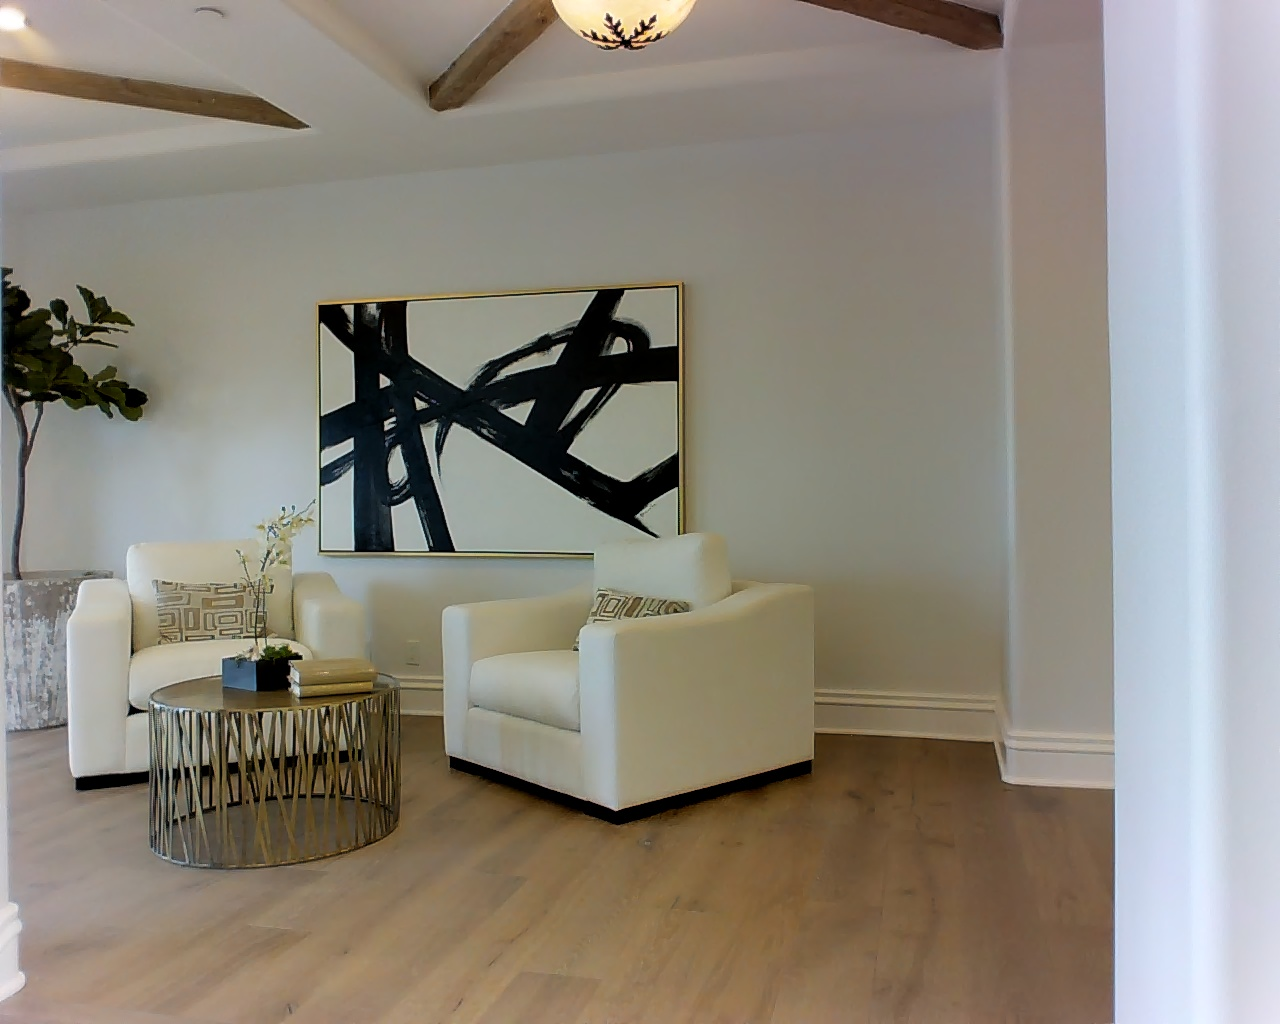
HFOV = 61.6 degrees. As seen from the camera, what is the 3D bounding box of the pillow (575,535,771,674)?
[{"bbox_3d":[0.120,0.350,4.350,0.360,0.500,0.750,0,0,-45],"label":"pillow"}]
